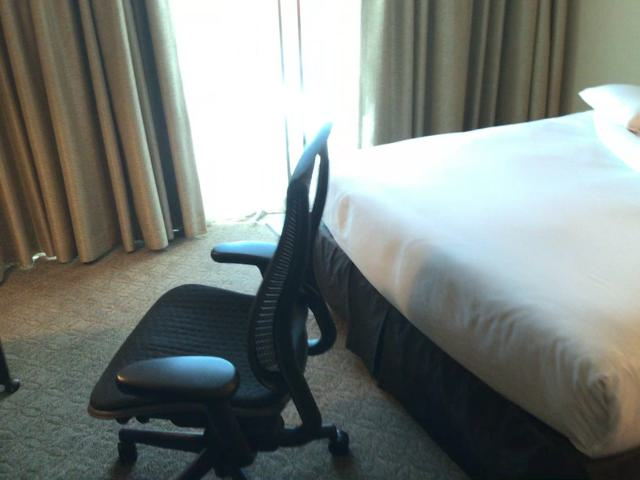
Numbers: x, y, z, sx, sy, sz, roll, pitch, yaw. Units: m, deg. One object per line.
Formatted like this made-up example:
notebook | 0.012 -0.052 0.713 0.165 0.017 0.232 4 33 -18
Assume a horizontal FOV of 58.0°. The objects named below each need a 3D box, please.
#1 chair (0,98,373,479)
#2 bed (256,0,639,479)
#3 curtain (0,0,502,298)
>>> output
chair | -0.260 0.240 1.460 0.700 1.040 0.720 -4 20 0
bed | 1.120 -0.290 1.980 2.120 1.540 1.780 -12 22 -20
curtain | -0.420 -0.990 2.850 2.890 1.990 0.450 -12 22 -21
